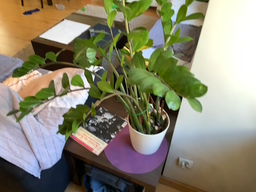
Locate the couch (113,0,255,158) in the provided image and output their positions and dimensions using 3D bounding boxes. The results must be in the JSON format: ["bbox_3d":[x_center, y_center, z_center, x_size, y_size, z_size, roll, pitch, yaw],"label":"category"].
[{"bbox_3d":[0.750,-0.600,2.250,0.950,0.760,2.150,17,46,15],"label":"couch"}]
